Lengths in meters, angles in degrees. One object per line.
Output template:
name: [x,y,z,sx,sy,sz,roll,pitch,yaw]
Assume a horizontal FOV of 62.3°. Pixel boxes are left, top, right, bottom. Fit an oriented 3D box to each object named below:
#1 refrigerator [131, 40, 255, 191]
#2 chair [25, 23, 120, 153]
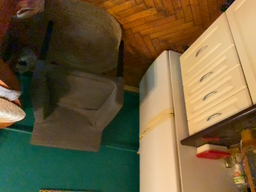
refrigerator: [0.460,0.390,1.780,0.670,1.490,0.640,11,149,-18]
chair: [-0.430,-0.030,1.750,0.560,0.800,0.590,10,149,-17]
